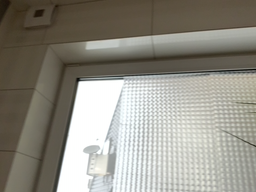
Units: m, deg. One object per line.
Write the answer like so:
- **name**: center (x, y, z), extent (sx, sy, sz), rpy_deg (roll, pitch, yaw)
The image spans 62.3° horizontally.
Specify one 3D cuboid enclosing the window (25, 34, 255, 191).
- **window**: center (0.340, 0.280, 0.900), extent (0.120, 1.580, 1.250), rpy_deg (67, -156, -61)
